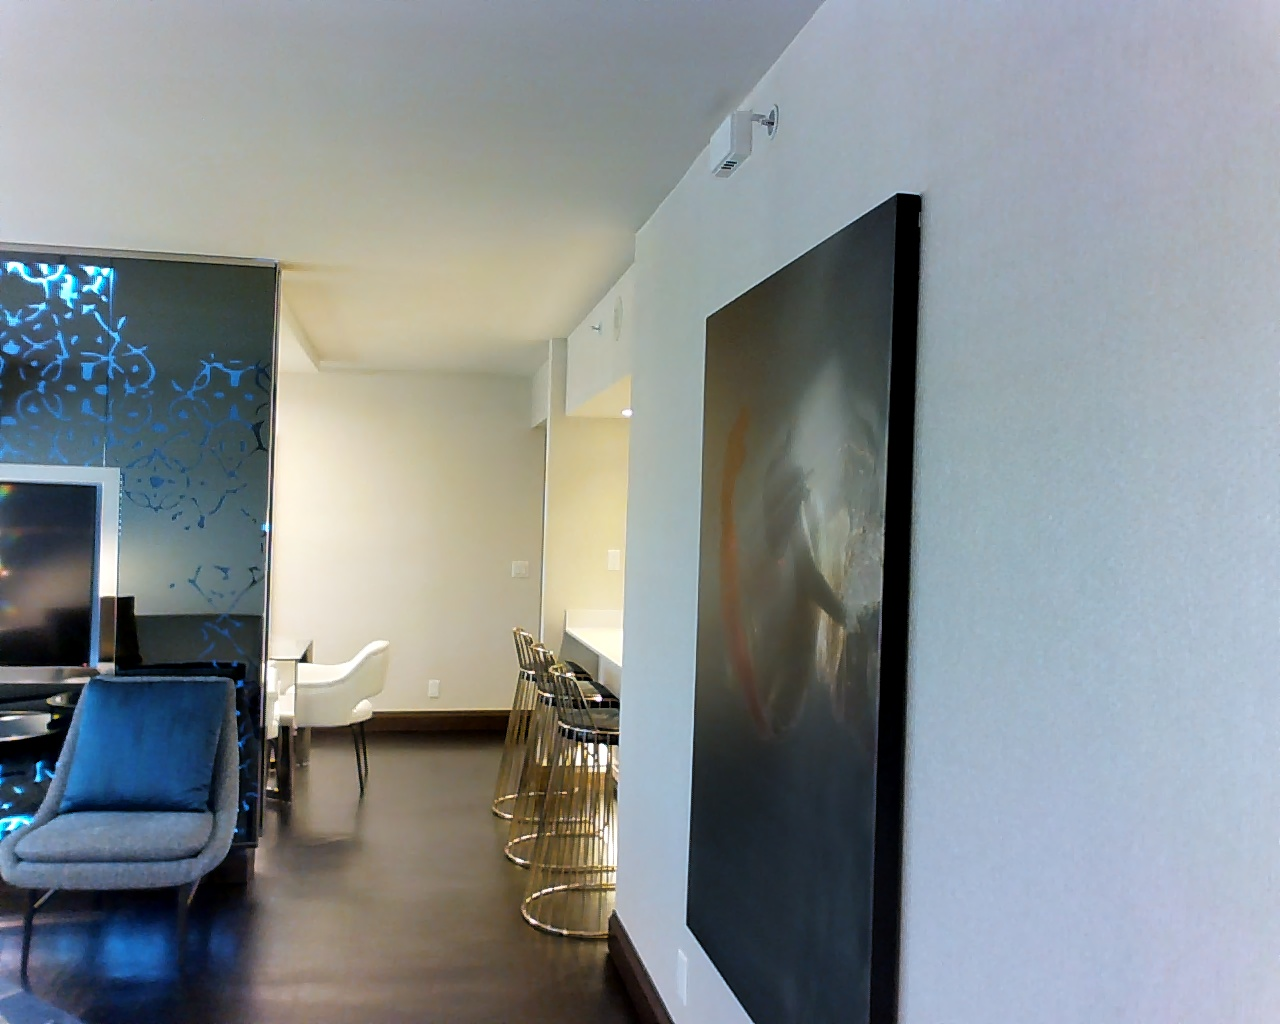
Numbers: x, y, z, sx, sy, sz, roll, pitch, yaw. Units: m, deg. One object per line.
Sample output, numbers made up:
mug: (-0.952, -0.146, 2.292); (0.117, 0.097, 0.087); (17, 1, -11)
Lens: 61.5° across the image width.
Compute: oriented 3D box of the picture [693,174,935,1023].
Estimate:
picture: (0.300, 0.240, 2.210); (0.070, 1.540, 1.070); (2, 0, -12)

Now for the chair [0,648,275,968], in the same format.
chair: (-1.810, 1.010, 3.940); (0.760, 0.900, 0.920); (2, 0, -12)
